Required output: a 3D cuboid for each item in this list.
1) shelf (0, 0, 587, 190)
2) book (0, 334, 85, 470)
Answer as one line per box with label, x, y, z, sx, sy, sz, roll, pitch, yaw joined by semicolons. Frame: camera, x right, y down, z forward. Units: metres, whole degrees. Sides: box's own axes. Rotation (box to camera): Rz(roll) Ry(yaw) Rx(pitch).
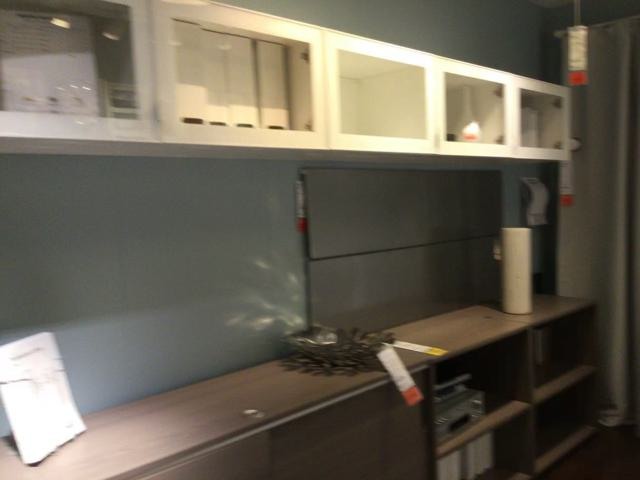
shelf;0.110;-0.500;2.160;2.910;0.490;0.480;-8;4;-42
book;-0.730;0.400;1.480;0.110;0.290;0.210;-15;-8;0
